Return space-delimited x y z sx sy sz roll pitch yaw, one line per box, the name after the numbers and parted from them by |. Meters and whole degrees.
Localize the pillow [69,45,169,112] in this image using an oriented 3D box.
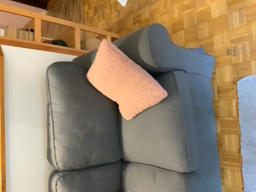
-0.020 -0.070 1.230 0.480 0.420 0.160 -12 74 7 | pillow

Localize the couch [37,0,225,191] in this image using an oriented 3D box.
0.010 0.720 1.400 0.900 0.850 2.150 -7 84 47 | couch

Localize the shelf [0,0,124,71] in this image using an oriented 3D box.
-1.000 -0.500 1.670 0.630 2.020 0.310 -6 85 47 | shelf
